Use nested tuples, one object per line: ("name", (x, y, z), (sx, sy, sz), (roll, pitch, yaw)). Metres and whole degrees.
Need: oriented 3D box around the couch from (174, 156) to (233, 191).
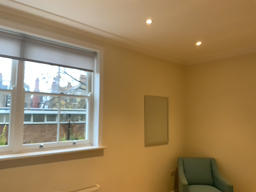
("couch", (1.230, 1.520, 3.610), (0.780, 0.820, 0.790), (0, -5, 6))
